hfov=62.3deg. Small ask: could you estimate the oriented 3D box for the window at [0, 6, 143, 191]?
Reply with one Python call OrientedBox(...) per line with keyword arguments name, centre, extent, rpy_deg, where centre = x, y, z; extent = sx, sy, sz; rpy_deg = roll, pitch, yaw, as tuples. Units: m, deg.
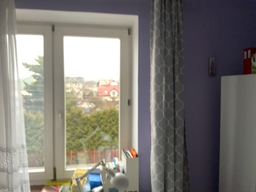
OrientedBox(name="window", centre=(-0.960, 0.070, 1.900), extent=(2.180, 1.660, 0.150), rpy_deg=(0, 2, -7))
